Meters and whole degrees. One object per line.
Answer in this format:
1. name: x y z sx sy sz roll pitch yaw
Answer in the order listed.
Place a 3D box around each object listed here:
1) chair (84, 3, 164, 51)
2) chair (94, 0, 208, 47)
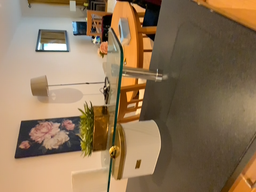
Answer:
1. chair: -0.090 -0.980 3.020 0.490 0.990 0.450 -110 23 -43
2. chair: 0.190 -0.820 2.130 0.450 0.990 0.500 -117 28 -52
